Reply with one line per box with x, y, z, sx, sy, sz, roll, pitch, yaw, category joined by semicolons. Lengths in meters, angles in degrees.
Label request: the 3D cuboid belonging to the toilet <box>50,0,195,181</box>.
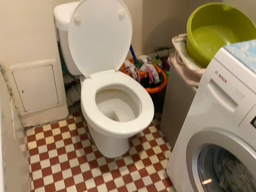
-0.130;-0.110;1.210;0.400;0.820;0.750;-13;47;-20;toilet

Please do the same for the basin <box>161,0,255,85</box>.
0.470;-0.300;1.090;0.420;0.210;0.390;-14;48;-21;basin

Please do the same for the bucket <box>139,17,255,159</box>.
0.420;-0.040;1.310;0.480;0.700;0.410;-13;47;-20;bucket
